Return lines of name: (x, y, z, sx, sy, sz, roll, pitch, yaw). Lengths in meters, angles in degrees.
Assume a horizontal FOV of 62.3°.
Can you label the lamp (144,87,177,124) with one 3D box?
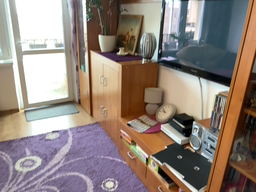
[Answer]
lamp: (0.340, 0.090, 2.290, 0.200, 0.290, 0.290, -7, 23, -25)
